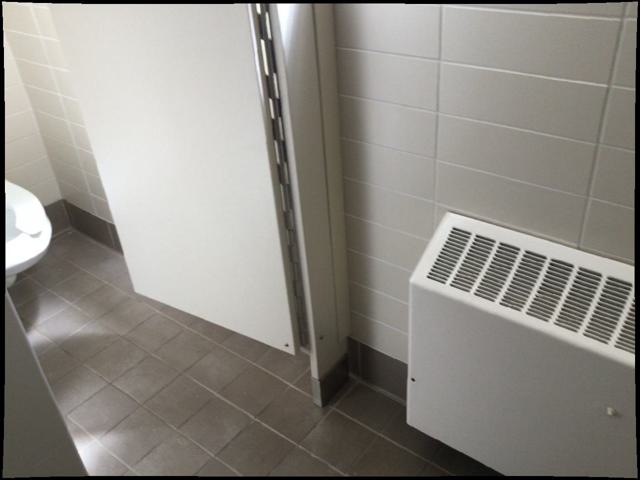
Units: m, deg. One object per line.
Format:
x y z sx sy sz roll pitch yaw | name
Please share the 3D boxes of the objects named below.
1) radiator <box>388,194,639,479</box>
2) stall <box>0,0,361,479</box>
0.549 0.300 1.090 0.870 0.540 0.190 21 42 34 | radiator
-0.839 -0.100 1.540 1.569 1.151 0.990 21 42 34 | stall
